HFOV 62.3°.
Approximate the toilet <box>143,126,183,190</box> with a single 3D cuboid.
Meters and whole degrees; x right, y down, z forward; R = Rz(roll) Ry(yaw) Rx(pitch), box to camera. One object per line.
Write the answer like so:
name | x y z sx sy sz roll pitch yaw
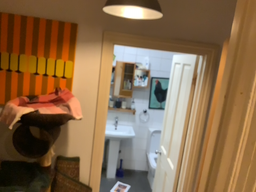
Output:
toilet | 0.530 0.970 3.410 0.380 0.780 0.600 6 10 -6
